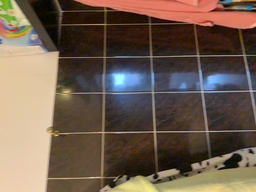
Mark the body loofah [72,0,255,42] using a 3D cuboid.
[{"bbox_3d":[0.220,-0.440,1.070,0.230,0.930,0.220,92,177,-71],"label":"body loofah"}]
